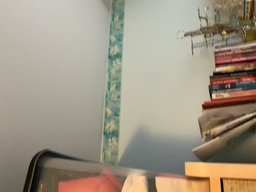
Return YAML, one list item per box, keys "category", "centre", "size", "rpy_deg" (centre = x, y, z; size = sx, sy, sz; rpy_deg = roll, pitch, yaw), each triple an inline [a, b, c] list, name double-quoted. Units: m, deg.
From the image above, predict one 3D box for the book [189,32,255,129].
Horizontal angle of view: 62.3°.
- category: "book"
  centre: [0.390, -0.040, 0.860]
  size: [0.220, 0.230, 0.310]
  rpy_deg: [34, -126, -59]
